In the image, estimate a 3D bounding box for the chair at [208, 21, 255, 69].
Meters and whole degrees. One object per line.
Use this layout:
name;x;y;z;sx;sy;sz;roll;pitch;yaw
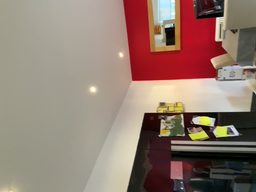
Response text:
chair;1.710;-0.740;3.060;0.420;0.950;0.570;-67;-26;-62
